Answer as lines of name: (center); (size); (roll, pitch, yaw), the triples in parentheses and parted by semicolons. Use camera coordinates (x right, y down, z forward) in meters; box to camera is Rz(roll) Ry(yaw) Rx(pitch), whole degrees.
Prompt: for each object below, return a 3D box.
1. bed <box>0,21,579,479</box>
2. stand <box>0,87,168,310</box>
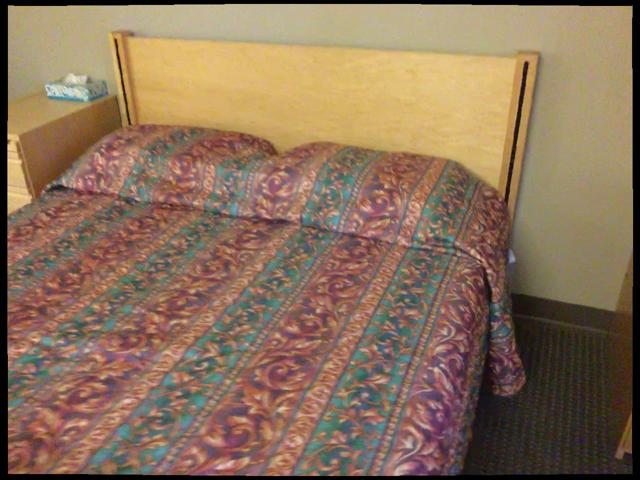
bed: (-0.489, 0.230, 1.420); (1.897, 1.021, 2.340); (10, 32, 19)
stand: (-1.068, -0.210, 2.510); (0.349, 0.731, 0.660); (7, 30, 20)
